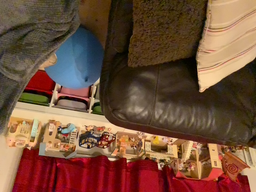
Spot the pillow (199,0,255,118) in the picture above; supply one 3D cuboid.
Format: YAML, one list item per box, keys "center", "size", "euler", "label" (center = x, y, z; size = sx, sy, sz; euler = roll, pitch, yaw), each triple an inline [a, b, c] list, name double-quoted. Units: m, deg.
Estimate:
- center: [0.480, -0.300, 0.900]
  size: [0.150, 0.430, 0.660]
  euler: [14, 112, 28]
  label: "pillow"

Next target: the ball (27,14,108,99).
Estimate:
- center: [-0.400, -0.280, 1.600]
  size: [0.450, 0.400, 0.450]
  euler: [4, 149, -2]
  label: "ball"
